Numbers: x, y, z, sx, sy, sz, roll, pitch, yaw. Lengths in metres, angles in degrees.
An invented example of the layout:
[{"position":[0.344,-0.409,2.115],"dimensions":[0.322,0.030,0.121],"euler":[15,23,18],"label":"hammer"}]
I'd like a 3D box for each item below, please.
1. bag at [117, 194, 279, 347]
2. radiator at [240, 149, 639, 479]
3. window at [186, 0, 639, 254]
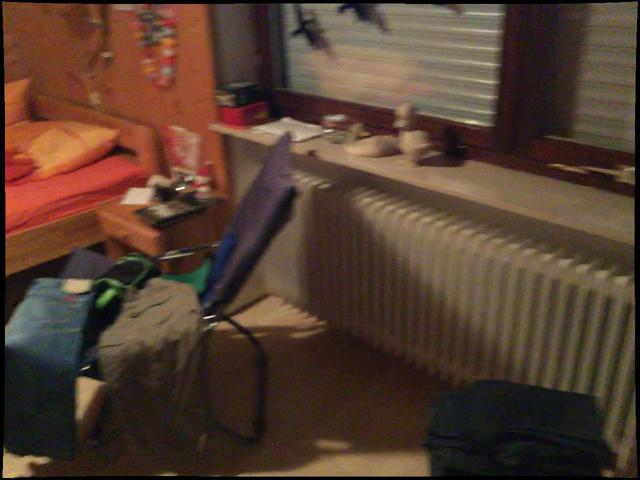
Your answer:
[{"position":[-0.420,0.080,1.980],"dimensions":[0.510,0.300,0.260],"euler":[22,36,39],"label":"bag"},{"position":[0.370,0.180,2.090],"dimensions":[1.659,0.661,0.260],"euler":[22,36,39],"label":"radiator"},{"position":[0.400,-0.811,1.610],"dimensions":[2.139,1.301,0.420],"euler":[22,36,39],"label":"window"}]
